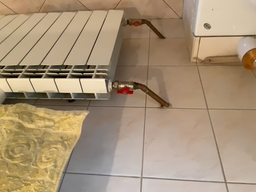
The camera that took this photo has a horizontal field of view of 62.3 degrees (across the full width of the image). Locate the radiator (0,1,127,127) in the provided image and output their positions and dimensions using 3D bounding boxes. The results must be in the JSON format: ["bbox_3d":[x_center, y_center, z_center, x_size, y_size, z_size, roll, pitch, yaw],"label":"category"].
[{"bbox_3d":[-0.410,-0.220,0.990,0.740,0.730,0.190,3,132,5],"label":"radiator"}]
